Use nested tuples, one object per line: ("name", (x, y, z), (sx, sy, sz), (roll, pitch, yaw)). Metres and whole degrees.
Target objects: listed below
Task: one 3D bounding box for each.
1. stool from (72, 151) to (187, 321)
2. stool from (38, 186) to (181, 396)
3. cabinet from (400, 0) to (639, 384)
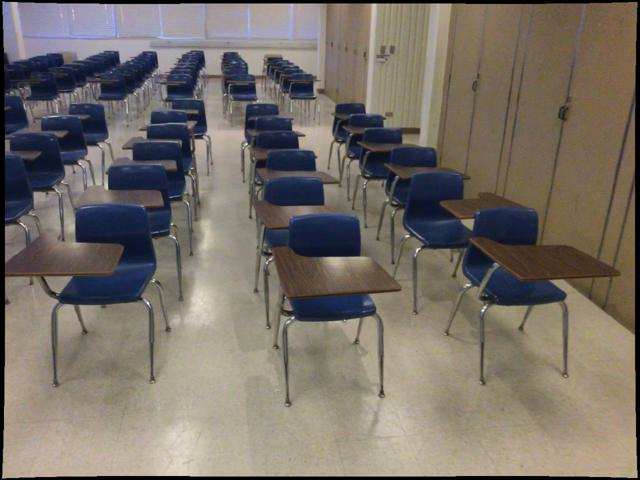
("stool", (-1.157, -0.060, 3.670), (0.509, 0.832, 0.810), (-1, 22, -8))
("stool", (-1.037, 0.221, 3.030), (0.509, 0.812, 0.790), (-1, 22, -9))
("cabinet", (1.726, -0.983, 3.950), (0.718, 2.455, 4.401), (-2, 22, -12))
